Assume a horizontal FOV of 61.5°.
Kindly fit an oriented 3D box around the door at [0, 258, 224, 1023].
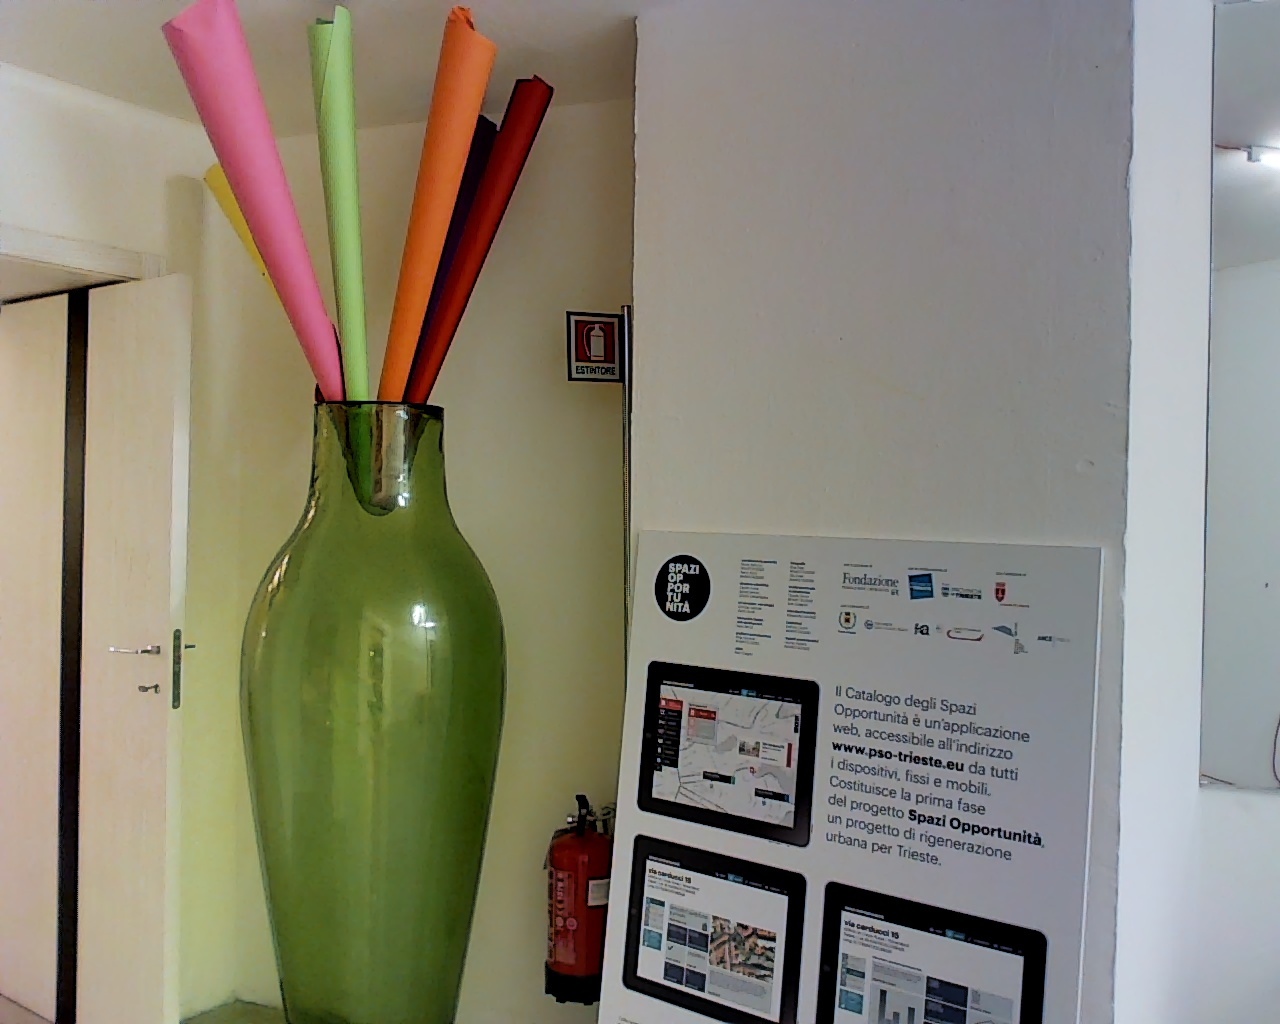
[{"bbox_3d":[-1.520,0.390,2.960,1.060,2.021,0.130,1,1,37],"label":"door"}]
